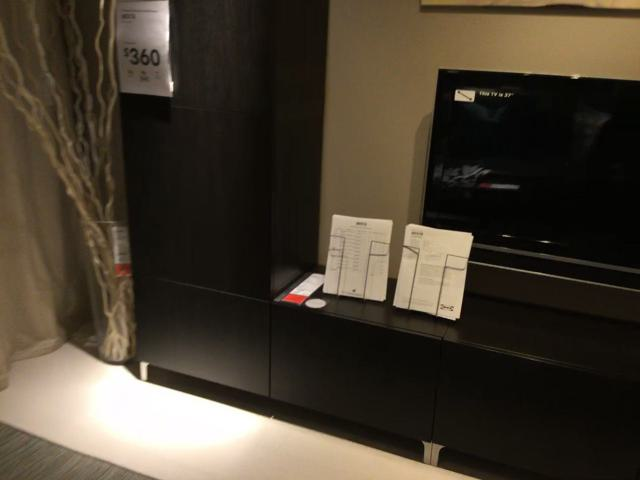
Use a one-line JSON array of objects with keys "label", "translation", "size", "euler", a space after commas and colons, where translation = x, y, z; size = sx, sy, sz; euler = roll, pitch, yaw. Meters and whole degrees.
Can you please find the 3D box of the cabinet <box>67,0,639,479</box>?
[{"label": "cabinet", "translation": [0.390, -0.020, 1.820], "size": [2.450, 1.470, 0.580], "euler": [8, 15, 23]}]
